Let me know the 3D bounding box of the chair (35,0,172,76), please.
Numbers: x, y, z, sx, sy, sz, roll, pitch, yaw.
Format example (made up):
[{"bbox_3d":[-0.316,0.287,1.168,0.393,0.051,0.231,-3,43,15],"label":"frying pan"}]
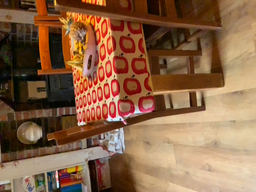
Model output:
[{"bbox_3d":[-0.220,-0.480,1.830,0.530,1.010,0.470,-20,76,62],"label":"chair"}]
